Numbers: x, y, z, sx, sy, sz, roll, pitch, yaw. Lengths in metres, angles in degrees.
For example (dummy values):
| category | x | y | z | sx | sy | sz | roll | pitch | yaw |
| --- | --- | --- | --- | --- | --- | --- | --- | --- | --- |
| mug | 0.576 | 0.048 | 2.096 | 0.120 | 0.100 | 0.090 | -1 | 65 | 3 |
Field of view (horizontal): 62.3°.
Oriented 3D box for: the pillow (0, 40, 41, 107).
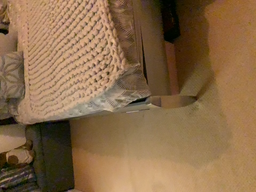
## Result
| category | x | y | z | sx | sy | sz | roll | pitch | yaw |
| --- | --- | --- | --- | --- | --- | --- | --- | --- | --- |
| pillow | -1.090 | -0.190 | 1.880 | 0.170 | 0.420 | 0.380 | -10 | 44 | 52 |
